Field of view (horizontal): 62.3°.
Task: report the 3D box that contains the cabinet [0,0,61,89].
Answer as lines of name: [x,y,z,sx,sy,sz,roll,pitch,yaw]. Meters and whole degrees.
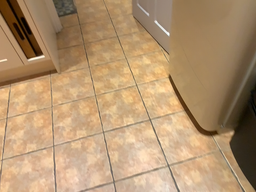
cabinet: [-0.970,-0.640,1.510,0.660,0.980,0.650,-13,52,-6]
